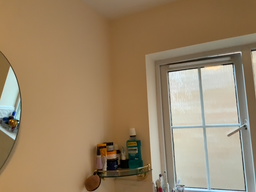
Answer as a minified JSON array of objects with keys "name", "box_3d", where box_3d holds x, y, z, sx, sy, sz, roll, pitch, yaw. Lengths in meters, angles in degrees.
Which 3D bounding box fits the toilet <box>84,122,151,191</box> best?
[{"name":"toilet","box_3d":[-0.050,0.320,1.200,0.250,0.330,0.310,-6,-8,27]}]

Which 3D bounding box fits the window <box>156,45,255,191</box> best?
[{"name":"window","box_3d":[0.760,0.170,1.260,1.180,0.950,0.050,-6,-8,27]}]
